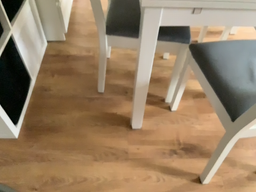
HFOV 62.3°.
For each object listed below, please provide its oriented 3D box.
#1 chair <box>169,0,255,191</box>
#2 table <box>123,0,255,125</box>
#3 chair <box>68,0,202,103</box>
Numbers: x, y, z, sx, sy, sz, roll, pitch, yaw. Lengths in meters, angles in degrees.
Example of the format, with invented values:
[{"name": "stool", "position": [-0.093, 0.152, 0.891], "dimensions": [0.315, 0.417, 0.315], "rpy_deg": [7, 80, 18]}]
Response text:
[{"name": "chair", "position": [0.500, -0.070, 0.760], "dimensions": [0.410, 0.980, 0.520], "rpy_deg": [-2, 52, -5]}, {"name": "table", "position": [0.440, -0.420, 1.170], "dimensions": [0.910, 0.740, 0.900], "rpy_deg": [0, 52, -3]}, {"name": "chair", "position": [0.030, -0.440, 1.020], "dimensions": [0.500, 0.980, 0.410], "rpy_deg": [5, 52, 0]}]
